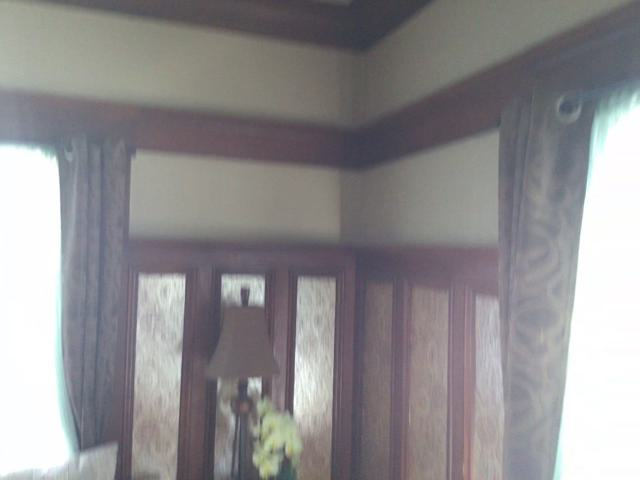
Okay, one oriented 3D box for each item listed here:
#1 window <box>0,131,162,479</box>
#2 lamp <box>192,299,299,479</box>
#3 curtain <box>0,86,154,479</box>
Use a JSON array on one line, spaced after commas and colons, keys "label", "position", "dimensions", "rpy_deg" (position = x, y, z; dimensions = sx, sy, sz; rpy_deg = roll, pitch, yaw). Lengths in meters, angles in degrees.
[{"label": "window", "position": [-1.500, 0.280, 2.080], "dimensions": [1.510, 1.440, 0.300], "rpy_deg": [13, -9, -18]}, {"label": "lamp", "position": [-0.300, 0.610, 2.300], "dimensions": [0.300, 0.710, 0.330], "rpy_deg": [7, -11, -21]}, {"label": "curtain", "position": [-1.540, 0.150, 2.010], "dimensions": [1.700, 1.450, 0.350], "rpy_deg": [7, -11, -21]}]
